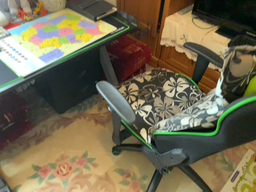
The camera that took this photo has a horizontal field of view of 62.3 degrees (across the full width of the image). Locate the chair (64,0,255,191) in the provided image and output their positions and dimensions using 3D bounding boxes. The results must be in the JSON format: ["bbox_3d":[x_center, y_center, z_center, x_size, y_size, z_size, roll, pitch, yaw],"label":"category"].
[{"bbox_3d":[0.240,-0.020,1.030,0.670,1.240,0.930,-24,52,-25],"label":"chair"}]

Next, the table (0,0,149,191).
[{"bbox_3d":[-0.560,-0.070,1.340,1.060,0.760,0.780,-33,57,-31],"label":"table"}]
